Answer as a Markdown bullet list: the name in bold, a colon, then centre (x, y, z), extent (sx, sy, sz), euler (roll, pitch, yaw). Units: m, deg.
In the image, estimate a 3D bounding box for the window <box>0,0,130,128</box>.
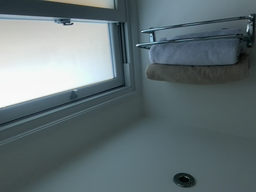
- **window**: centre (-0.340, -0.440, 1.070), extent (0.150, 0.950, 0.890), euler (5, -164, 35)
